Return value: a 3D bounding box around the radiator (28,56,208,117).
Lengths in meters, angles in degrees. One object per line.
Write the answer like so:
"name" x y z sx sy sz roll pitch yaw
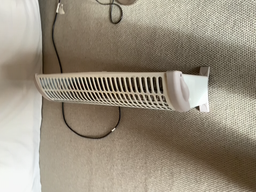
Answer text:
"radiator" -0.030 -0.030 0.790 0.550 0.380 0.140 1 92 32
